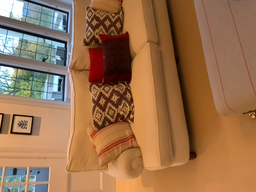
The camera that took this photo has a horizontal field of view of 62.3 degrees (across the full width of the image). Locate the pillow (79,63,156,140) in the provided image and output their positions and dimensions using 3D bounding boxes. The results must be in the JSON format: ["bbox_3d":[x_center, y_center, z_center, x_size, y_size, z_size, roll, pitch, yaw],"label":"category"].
[{"bbox_3d":[-0.090,0.040,1.890,0.500,0.440,0.230,55,142,4],"label":"pillow"}]

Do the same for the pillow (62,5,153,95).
[{"bbox_3d":[-0.180,-0.470,2.110,0.610,0.610,0.300,43,143,-6],"label":"pillow"}]

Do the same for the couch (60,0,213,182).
[{"bbox_3d":[-0.070,-0.370,2.300,0.970,0.980,2.310,-38,50,52],"label":"couch"}]
